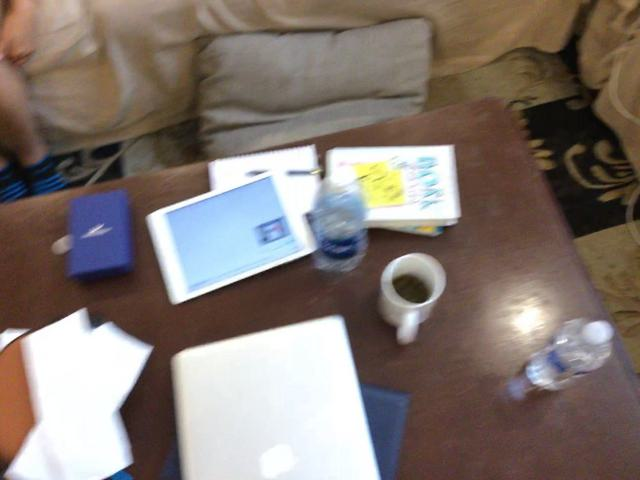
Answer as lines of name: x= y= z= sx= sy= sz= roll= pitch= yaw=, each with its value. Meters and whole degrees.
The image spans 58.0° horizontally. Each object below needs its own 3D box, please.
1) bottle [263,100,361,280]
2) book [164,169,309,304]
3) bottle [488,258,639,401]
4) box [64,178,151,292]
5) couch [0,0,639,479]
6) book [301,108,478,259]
bottle: x=-0.010 y=-0.060 z=0.880 sx=0.100 sy=0.300 sz=0.120 roll=-14 pitch=65 yaw=-6
book: x=-0.140 y=-0.010 z=0.960 sx=0.200 sy=0.030 sz=0.180 roll=-16 pitch=66 yaw=-7
bottle: x=0.330 y=0.130 z=0.800 sx=0.110 sy=0.170 sz=0.130 roll=-14 pitch=65 yaw=-6
box: x=-0.350 y=-0.010 z=0.950 sx=0.110 sy=0.050 sz=0.160 roll=-14 pitch=65 yaw=-6
couch: x=0.070 y=0.030 z=1.090 sx=2.540 sy=0.540 sz=1.390 roll=-13 pitch=65 yaw=-6
book: x=0.110 y=-0.100 z=0.980 sx=0.240 sy=0.050 sz=0.210 roll=-14 pitch=65 yaw=-6
